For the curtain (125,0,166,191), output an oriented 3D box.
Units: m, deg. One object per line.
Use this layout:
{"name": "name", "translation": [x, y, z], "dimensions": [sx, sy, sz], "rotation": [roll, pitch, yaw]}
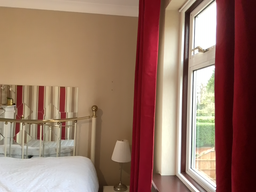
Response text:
{"name": "curtain", "translation": [0.130, -0.160, 1.700], "dimensions": [0.170, 1.930, 0.470], "rotation": [2, -1, -8]}
